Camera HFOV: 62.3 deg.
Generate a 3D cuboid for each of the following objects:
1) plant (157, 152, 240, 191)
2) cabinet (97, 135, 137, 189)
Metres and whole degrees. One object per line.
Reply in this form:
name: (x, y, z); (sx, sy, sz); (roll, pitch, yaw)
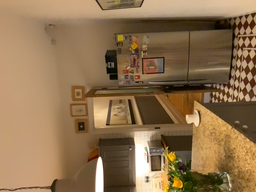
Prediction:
plant: (0.500, 0.650, 1.600); (0.300, 0.500, 0.310); (-104, 12, -76)
cabinet: (-0.200, 1.240, 3.990); (0.260, 0.690, 0.940); (-103, 12, -76)
